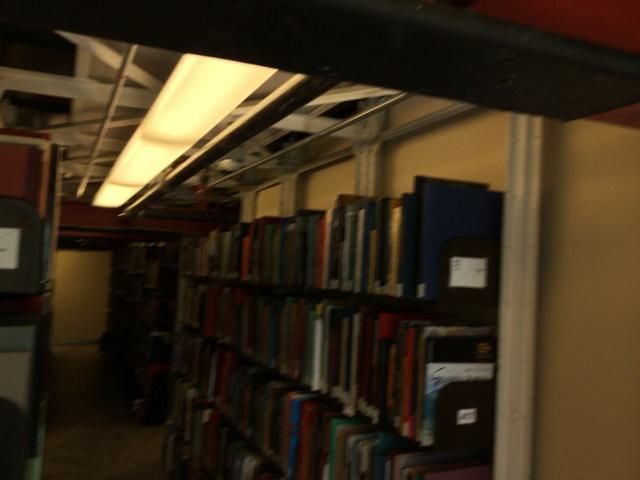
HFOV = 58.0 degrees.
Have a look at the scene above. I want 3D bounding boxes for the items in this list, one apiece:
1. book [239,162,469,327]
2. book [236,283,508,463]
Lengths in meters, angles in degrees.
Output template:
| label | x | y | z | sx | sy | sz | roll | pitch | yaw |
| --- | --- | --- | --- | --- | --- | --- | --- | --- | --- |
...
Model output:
| label | x | y | z | sx | sy | sz | roll | pitch | yaw |
| --- | --- | --- | --- | --- | --- | --- | --- | --- | --- |
| book | 0.000 | 0.030 | 2.250 | 0.170 | 0.430 | 1.560 | 4 | -3 | -24 |
| book | 0.050 | 0.400 | 2.260 | 0.310 | 0.380 | 1.580 | 4 | -3 | -24 |
